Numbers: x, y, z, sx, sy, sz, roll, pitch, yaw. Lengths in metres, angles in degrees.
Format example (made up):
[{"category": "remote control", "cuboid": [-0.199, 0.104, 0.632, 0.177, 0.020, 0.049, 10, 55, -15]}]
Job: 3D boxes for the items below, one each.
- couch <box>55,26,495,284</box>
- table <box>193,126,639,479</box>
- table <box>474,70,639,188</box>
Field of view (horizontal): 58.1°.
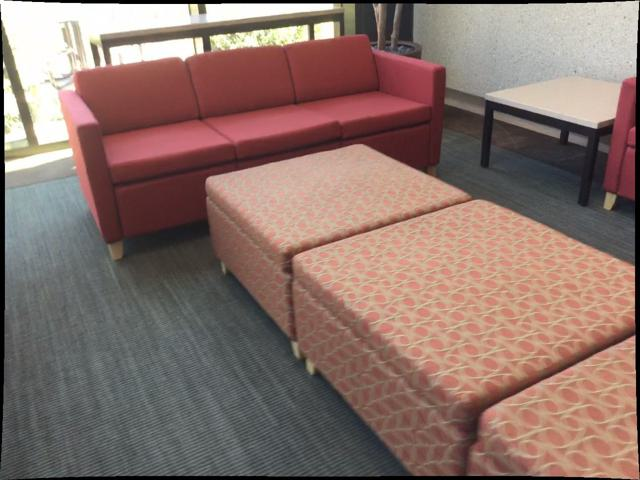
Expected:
[{"category": "couch", "cuboid": [-0.200, -0.581, 3.090, 2.018, 0.841, 0.880, -14, 32, -25]}, {"category": "table", "cuboid": [0.429, 0.311, 1.690, 0.859, 0.531, 2.390, -14, 32, -25]}, {"category": "table", "cuboid": [1.547, -0.681, 3.290, 0.929, 0.320, 0.850, -14, 32, -25]}]
